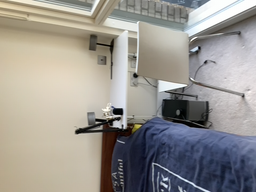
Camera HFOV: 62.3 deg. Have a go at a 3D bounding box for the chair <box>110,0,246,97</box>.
[{"bbox_3d":[0.360,-0.280,1.620,0.510,0.860,0.500,171,101,-67],"label":"chair"}]
